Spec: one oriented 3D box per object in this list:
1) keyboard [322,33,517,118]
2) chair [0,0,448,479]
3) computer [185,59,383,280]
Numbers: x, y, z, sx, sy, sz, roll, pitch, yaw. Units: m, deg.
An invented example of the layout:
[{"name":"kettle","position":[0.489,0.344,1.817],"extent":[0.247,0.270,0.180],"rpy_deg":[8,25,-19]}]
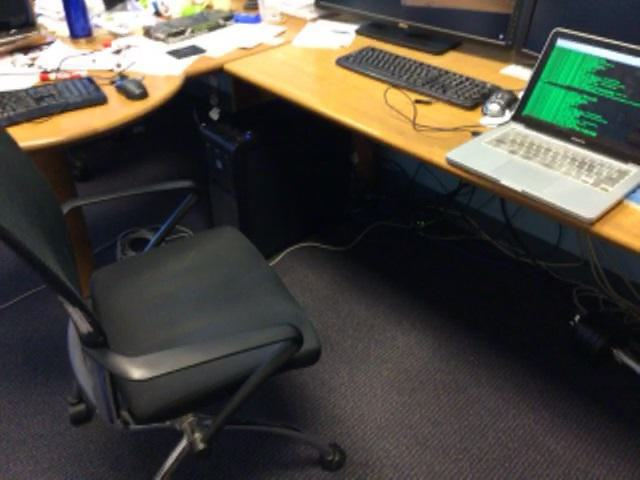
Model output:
[{"name":"keyboard","position":[0.250,-0.450,1.530],"extent":[0.230,0.050,0.460],"rpy_deg":[-30,46,-35]},{"name":"chair","position":[-0.290,0.100,1.150],"extent":[0.720,0.920,0.620],"rpy_deg":[-20,41,-26]},{"name":"computer","position":[-0.100,-0.270,2.060],"extent":[0.650,0.540,0.250],"rpy_deg":[-30,46,-35]}]
